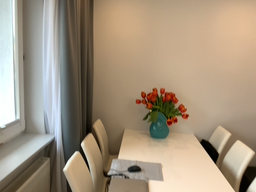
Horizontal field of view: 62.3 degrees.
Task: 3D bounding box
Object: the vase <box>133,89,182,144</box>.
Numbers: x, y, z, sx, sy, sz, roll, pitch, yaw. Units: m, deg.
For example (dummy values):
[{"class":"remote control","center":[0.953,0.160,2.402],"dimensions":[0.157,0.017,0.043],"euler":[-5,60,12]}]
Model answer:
[{"class":"vase","center":[0.340,0.230,2.570],"dimensions":[0.510,0.570,0.330],"euler":[4,9,4]}]
